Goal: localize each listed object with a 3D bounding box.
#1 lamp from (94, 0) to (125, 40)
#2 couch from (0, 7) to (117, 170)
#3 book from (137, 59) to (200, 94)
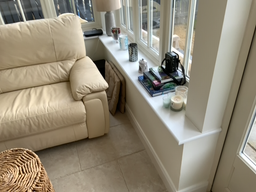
[{"bbox_3d":[-0.220,-0.960,2.470,0.300,0.490,0.310,-9,35,-7],"label":"lamp"},{"bbox_3d":[-1.260,-0.040,1.860,2.070,0.970,0.990,-13,36,-13],"label":"couch"},{"bbox_3d":[0.300,-0.170,1.680,0.380,0.050,0.390,-8,35,-6],"label":"book"}]
